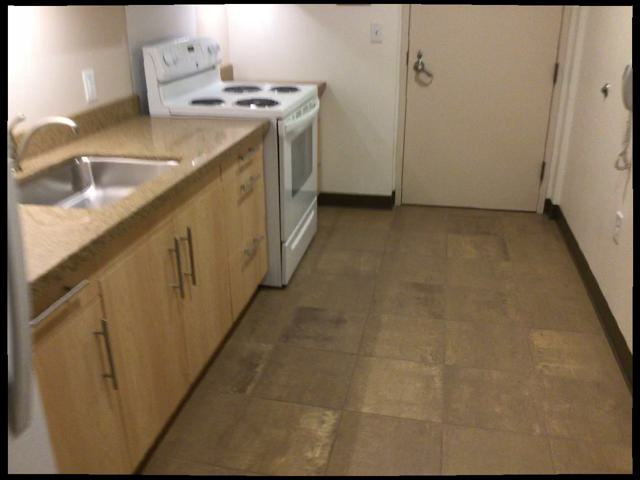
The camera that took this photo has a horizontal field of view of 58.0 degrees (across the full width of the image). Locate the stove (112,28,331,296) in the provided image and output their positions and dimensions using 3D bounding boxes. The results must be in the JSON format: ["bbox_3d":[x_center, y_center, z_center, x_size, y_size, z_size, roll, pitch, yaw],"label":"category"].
[{"bbox_3d":[-0.439,-0.461,3.070,0.809,1.162,0.820,7,26,12],"label":"stove"}]
